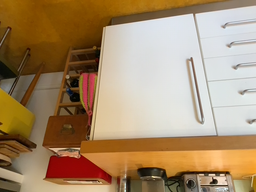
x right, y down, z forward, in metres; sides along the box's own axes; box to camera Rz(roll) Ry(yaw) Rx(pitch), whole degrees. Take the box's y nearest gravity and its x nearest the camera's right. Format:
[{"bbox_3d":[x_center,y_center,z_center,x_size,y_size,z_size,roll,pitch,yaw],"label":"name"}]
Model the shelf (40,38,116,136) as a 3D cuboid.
[{"bbox_3d":[-0.320,-0.060,1.560,0.370,0.600,0.340,-4,150,9],"label":"shelf"}]
